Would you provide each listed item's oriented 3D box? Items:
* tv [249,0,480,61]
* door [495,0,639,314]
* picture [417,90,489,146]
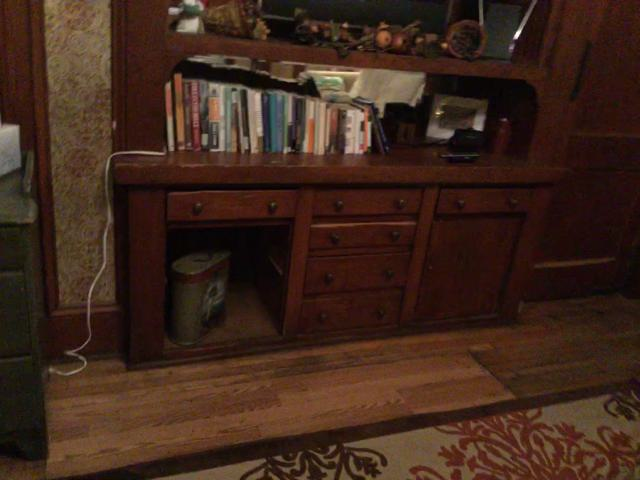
[{"bbox_3d":[0.180,-1.000,2.060,0.790,0.620,0.260,-2,22,-20],"label":"tv"},{"bbox_3d":[1.410,-0.620,2.530,0.950,1.980,0.150,-2,22,-20],"label":"door"},{"bbox_3d":[0.620,-0.570,2.700,0.290,0.210,0.090,11,22,12],"label":"picture"}]
